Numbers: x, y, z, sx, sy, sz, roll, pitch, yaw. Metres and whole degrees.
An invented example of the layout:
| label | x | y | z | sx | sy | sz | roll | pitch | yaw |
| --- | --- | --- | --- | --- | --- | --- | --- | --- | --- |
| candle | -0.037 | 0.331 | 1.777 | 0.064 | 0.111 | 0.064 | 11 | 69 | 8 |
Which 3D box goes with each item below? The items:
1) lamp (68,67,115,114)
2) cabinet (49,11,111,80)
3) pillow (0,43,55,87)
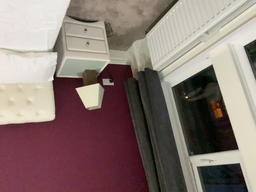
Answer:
| label | x | y | z | sx | sy | sz | roll | pitch | yaw |
| --- | --- | --- | --- | --- | --- | --- | --- | --- | --- |
| lamp | -0.410 | -0.050 | 2.290 | 0.330 | 0.380 | 0.400 | -1 | 162 | -31 |
| cabinet | -0.540 | -0.500 | 2.280 | 0.470 | 0.470 | 0.540 | -2 | 162 | -30 |
| pillow | -0.960 | -0.230 | 1.710 | 0.610 | 0.180 | 0.420 | -1 | 162 | -32 |
